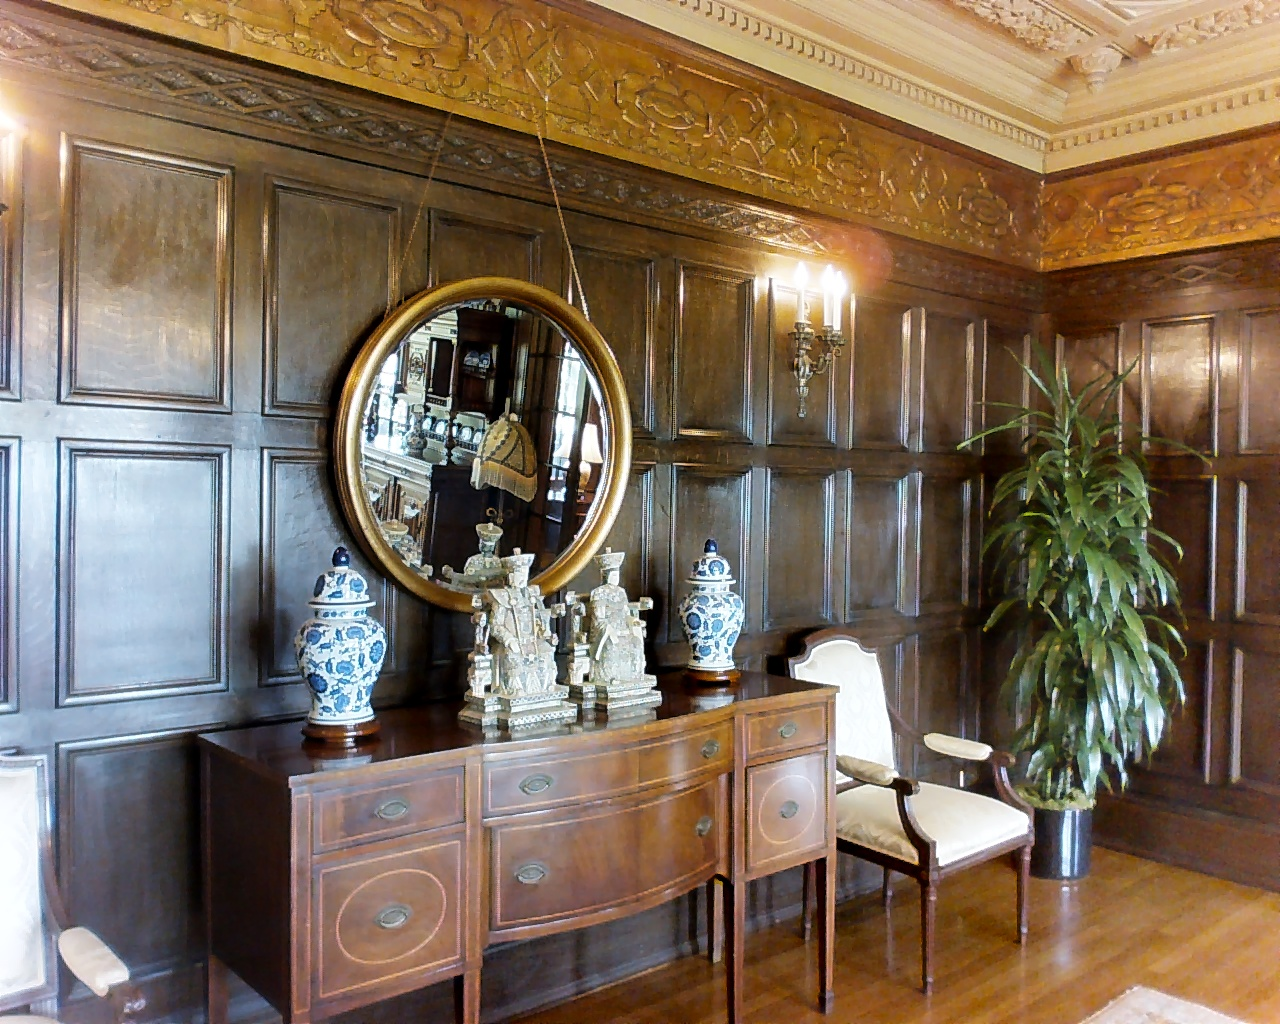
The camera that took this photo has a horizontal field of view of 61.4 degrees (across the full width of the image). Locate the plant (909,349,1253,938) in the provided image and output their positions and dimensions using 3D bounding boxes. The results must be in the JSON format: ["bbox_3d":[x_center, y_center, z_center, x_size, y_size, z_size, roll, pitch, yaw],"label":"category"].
[{"bbox_3d":[1.830,0.460,4.490,0.990,2.090,0.940,0,1,-41],"label":"plant"}]

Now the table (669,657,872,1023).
[{"bbox_3d":[0.400,1.000,3.350,0.390,1.010,0.470,0,1,-41],"label":"table"}]
